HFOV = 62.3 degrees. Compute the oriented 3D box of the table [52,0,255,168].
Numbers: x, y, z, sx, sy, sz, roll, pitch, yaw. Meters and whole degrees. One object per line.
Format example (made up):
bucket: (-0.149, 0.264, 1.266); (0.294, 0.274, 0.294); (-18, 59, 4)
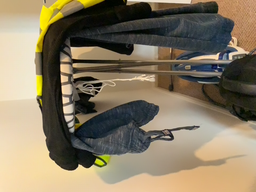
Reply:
table: (0.080, -0.170, 1.230); (1.310, 0.900, 0.420); (-152, 58, -71)
